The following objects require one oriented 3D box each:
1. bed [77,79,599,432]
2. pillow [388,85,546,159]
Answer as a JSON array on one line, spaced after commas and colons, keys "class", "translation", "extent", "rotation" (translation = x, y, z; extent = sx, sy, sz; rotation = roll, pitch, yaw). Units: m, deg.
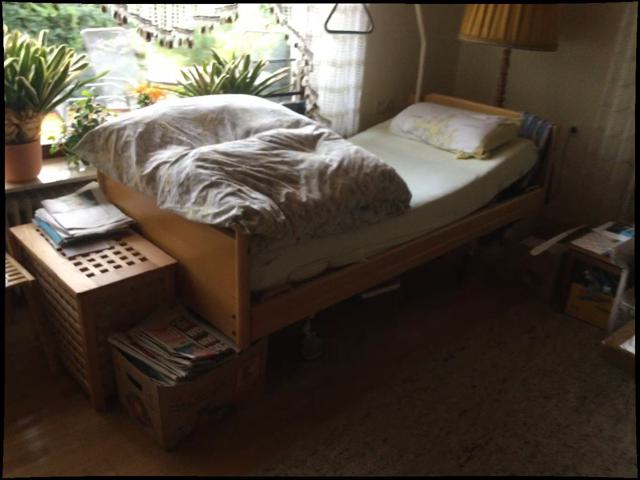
[{"class": "bed", "translation": [0.180, -0.180, 2.790], "extent": [2.189, 0.821, 1.090], "rotation": [-17, 34, -37]}, {"class": "pillow", "translation": [0.799, -0.671, 3.190], "extent": [0.520, 0.190, 0.640], "rotation": [-17, 34, -37]}]
